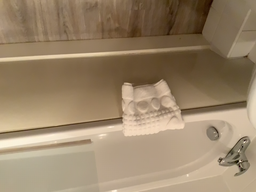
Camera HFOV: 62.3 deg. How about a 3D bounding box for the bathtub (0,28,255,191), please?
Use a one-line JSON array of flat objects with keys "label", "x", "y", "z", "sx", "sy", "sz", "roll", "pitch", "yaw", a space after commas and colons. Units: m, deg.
[{"label": "bathtub", "x": -0.220, "y": 0.160, "z": 1.130, "sx": 1.650, "sy": 0.590, "sz": 0.720, "roll": -7, "pitch": 138, "yaw": -12}]
